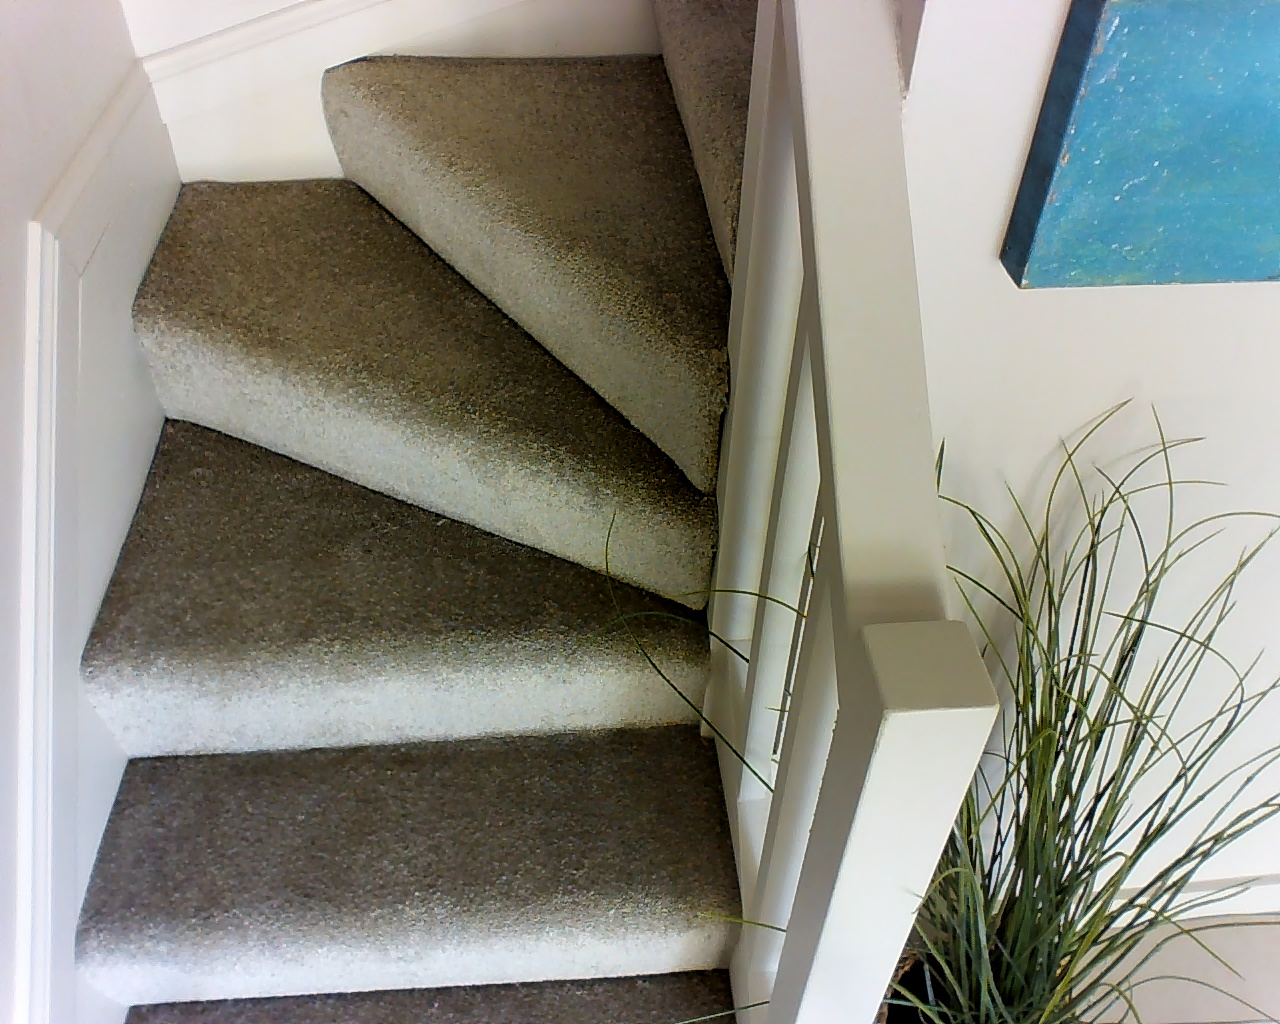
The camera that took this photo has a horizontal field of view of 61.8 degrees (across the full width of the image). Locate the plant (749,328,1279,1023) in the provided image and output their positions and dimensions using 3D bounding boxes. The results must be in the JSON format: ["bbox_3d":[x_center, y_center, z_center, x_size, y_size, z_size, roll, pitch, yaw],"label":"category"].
[{"bbox_3d":[0.410,0.400,1.070,0.430,1.120,0.380,-3,43,-6],"label":"plant"}]
